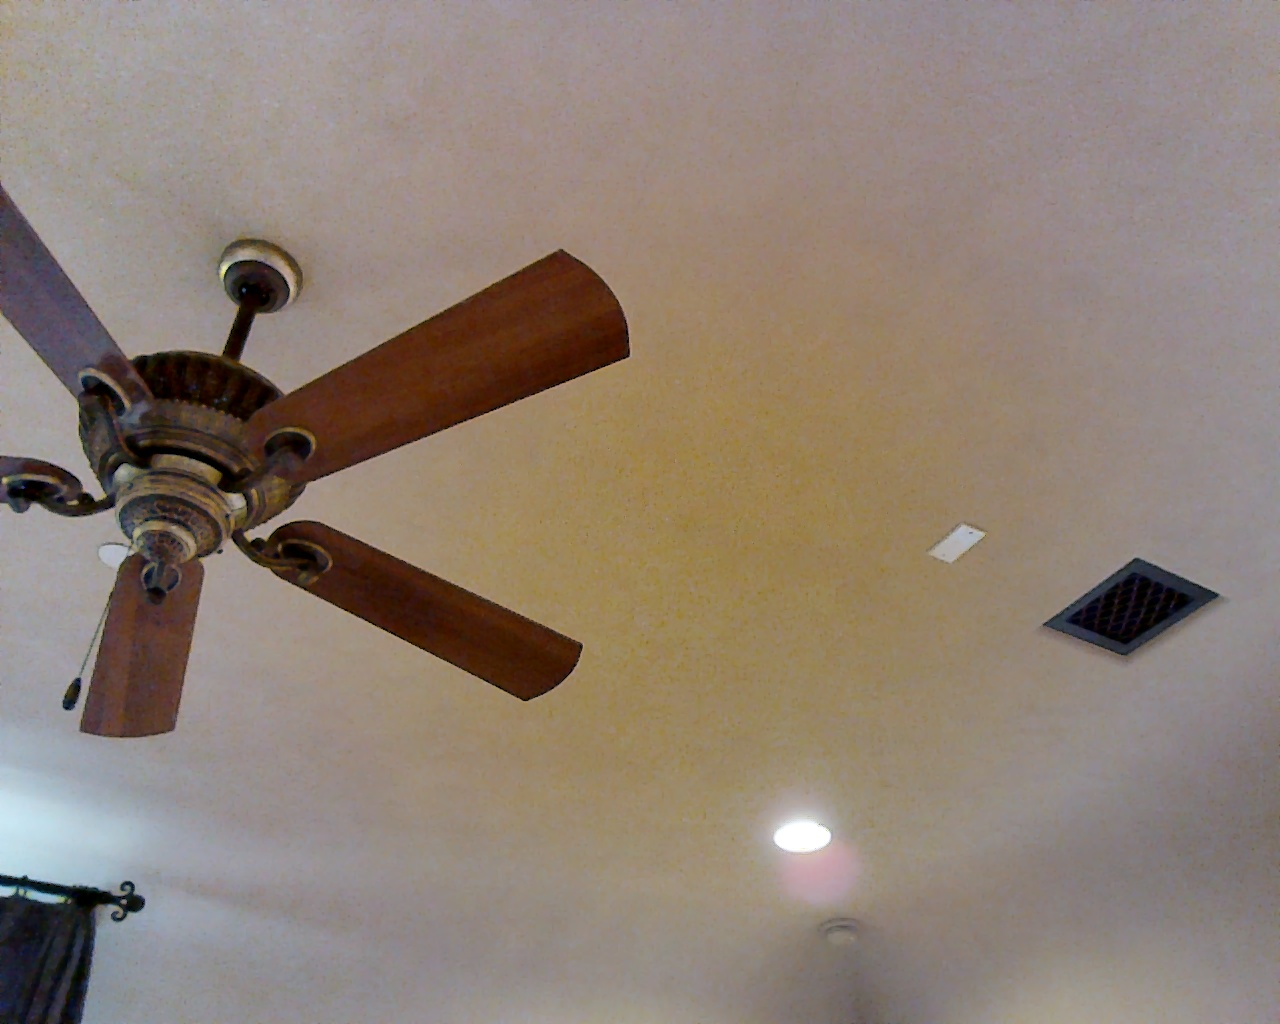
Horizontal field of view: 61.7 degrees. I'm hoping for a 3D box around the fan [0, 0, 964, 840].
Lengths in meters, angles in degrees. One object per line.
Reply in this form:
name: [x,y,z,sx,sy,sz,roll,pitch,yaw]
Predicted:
fan: [-0.560,-0.120,1.510,1.350,1.350,0.560,0,53,-36]
